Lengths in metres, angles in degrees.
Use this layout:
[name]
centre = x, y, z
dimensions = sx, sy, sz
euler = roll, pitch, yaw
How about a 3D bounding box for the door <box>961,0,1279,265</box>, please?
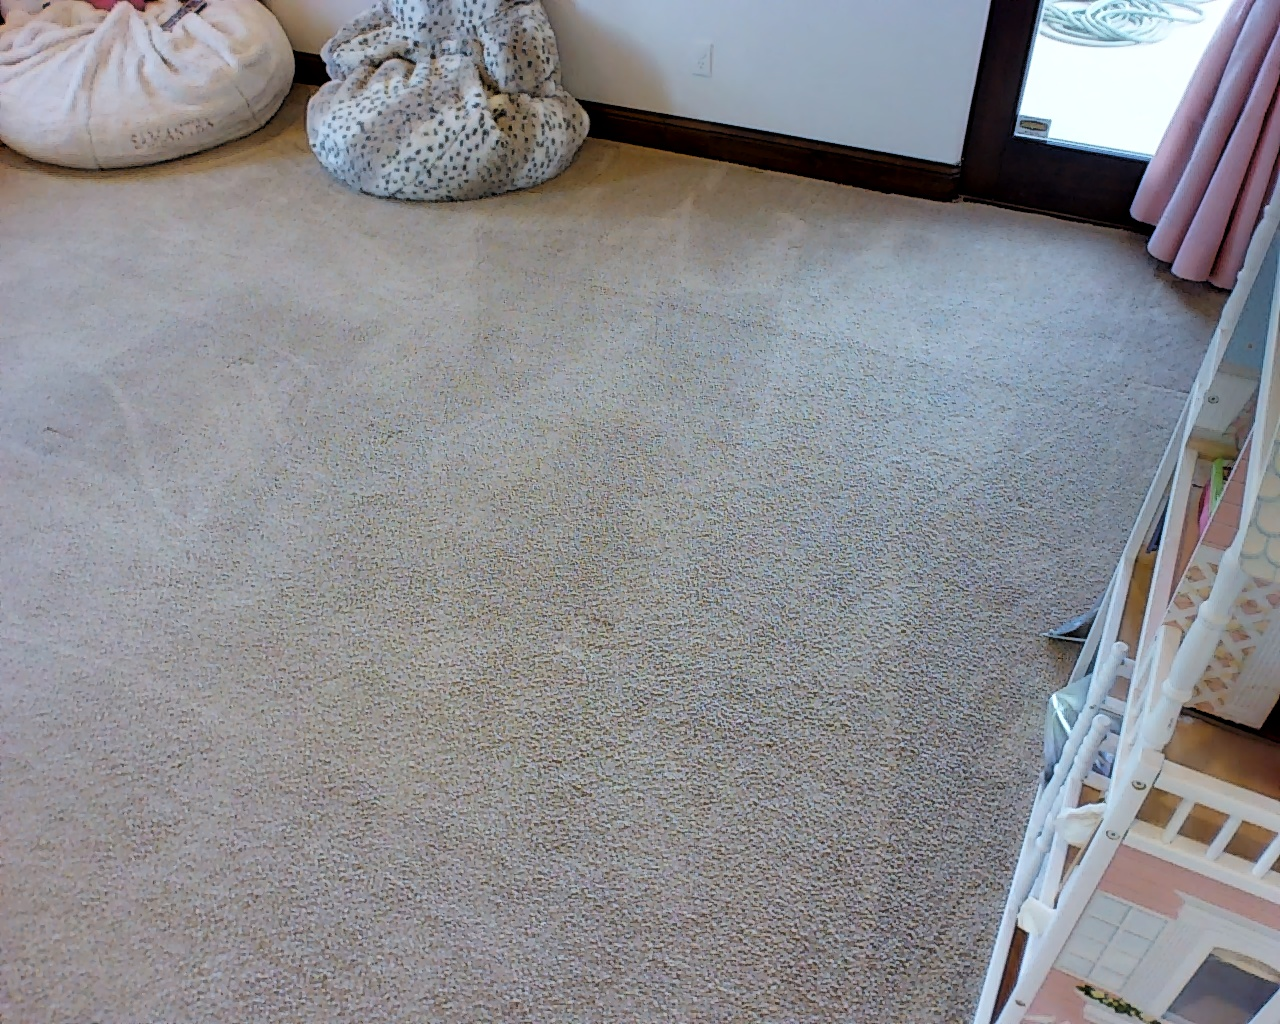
[door]
centre = 1.400, -1.740, 2.600
dimensions = 0.800, 2.320, 0.060
euler = 17, 44, 19
